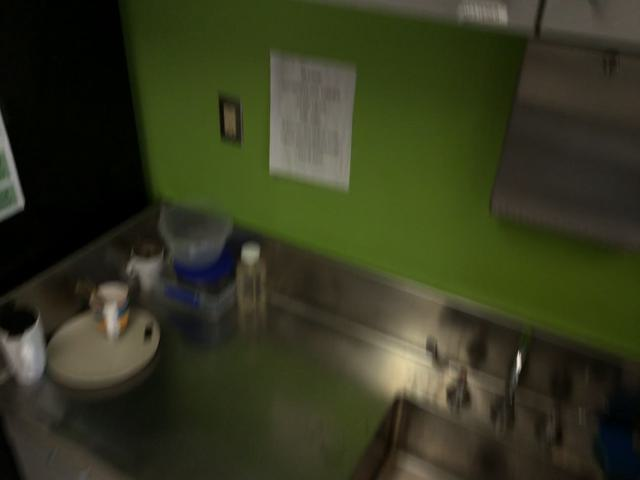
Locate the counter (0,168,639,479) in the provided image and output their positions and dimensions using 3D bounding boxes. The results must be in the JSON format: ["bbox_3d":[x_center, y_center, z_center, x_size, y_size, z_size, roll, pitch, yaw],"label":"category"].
[{"bbox_3d":[-0.020,0.300,1.180,1.490,0.300,0.710,19,34,23],"label":"counter"}]

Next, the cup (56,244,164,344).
[{"bbox_3d":[-0.520,0.130,1.450,0.150,0.130,0.190,19,34,23],"label":"cup"}]

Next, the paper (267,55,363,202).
[{"bbox_3d":[-0.020,-0.250,1.310,0.210,0.290,0.030,19,34,23],"label":"paper"}]
